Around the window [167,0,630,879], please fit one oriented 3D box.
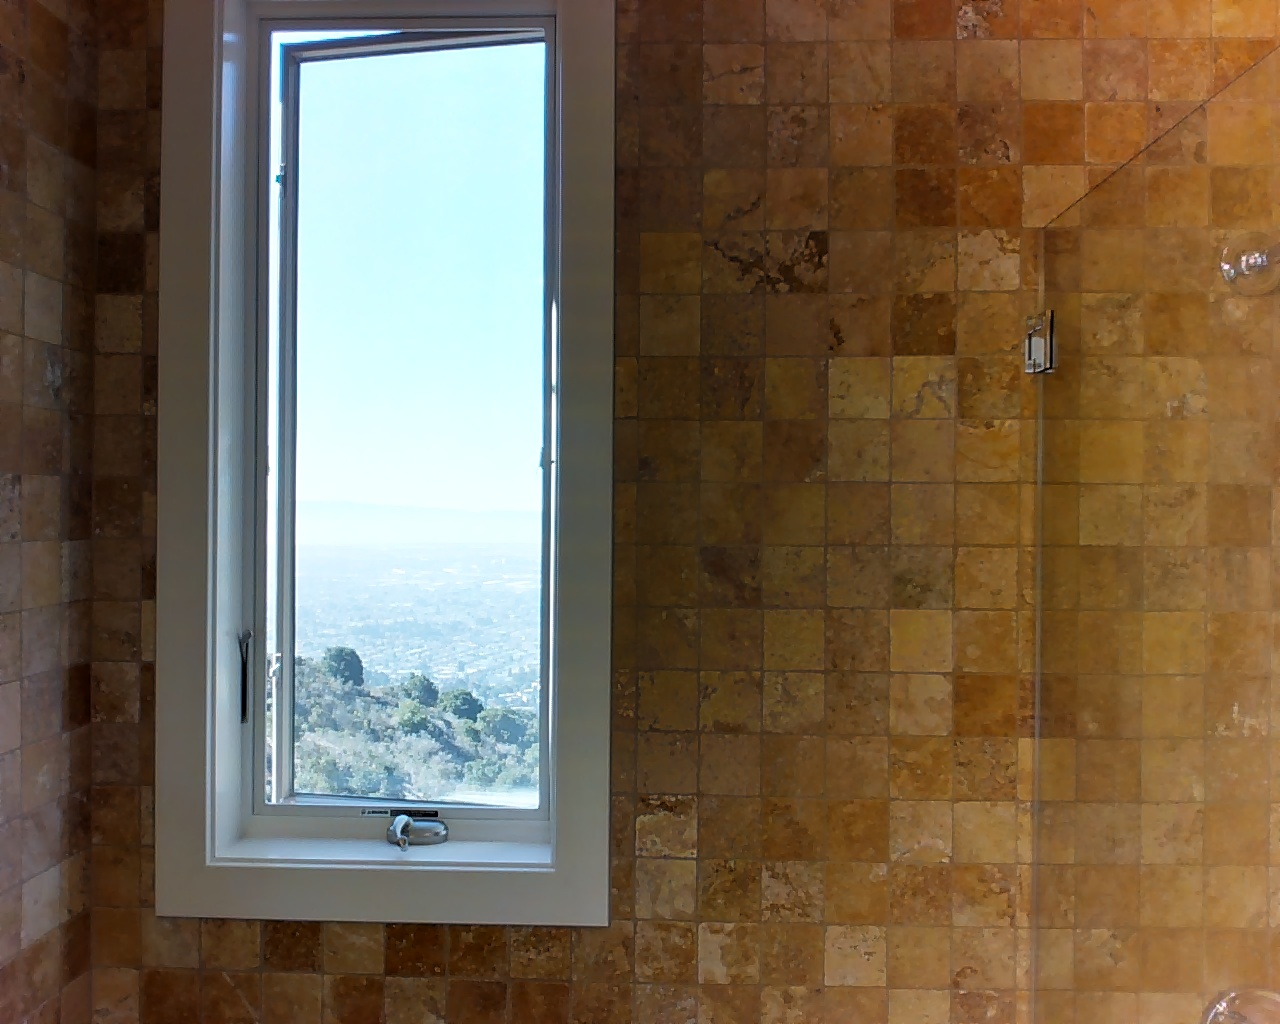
[{"bbox_3d":[-0.400,-0.170,1.900,0.740,1.530,0.270,1,0,2],"label":"window"}]
